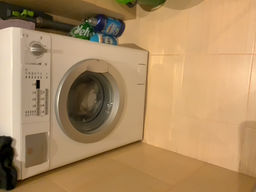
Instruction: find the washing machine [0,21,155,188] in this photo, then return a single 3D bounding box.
[{"bbox_3d":[-0.340,-0.010,1.270,0.580,0.840,0.610,10,99,41],"label":"washing machine"}]
